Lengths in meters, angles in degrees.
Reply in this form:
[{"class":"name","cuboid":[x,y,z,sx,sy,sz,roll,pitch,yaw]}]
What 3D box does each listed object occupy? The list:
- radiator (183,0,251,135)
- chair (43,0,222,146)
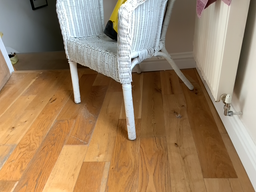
[{"class":"radiator","cuboid":[0.380,-0.330,1.030,0.120,0.780,0.660,0,33,9]},{"class":"chair","cuboid":[0.030,-0.300,1.170,0.640,0.690,0.620,-28,39,-31]}]
